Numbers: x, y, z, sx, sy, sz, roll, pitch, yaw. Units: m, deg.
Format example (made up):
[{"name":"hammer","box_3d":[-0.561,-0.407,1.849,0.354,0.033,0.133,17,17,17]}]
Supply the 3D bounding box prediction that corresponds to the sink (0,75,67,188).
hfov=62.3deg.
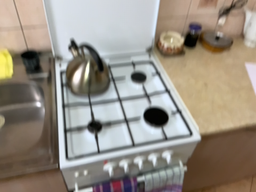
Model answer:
[{"name":"sink","box_3d":[-0.480,0.130,0.870,0.390,0.160,0.420,-9,47,-14]}]
